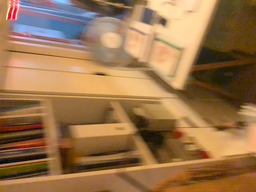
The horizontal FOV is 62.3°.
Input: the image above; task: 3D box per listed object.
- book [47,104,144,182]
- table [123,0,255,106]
[{"bbox_3d":[-0.190,0.220,1.120,0.310,0.410,0.230,50,131,54],"label":"book"},{"bbox_3d":[0.610,-0.760,1.530,0.850,0.740,1.410,52,133,53],"label":"table"}]
